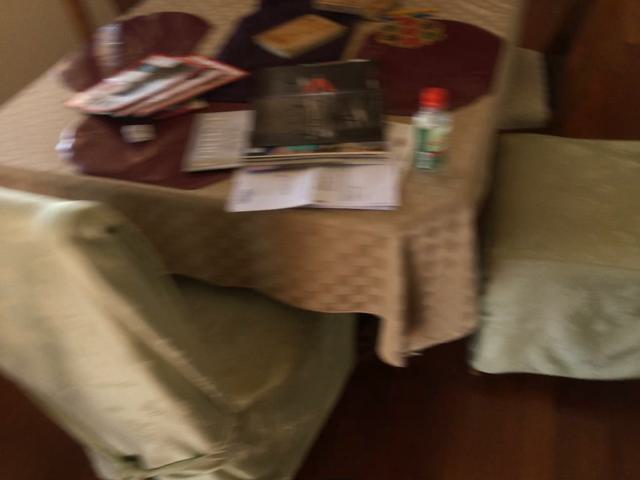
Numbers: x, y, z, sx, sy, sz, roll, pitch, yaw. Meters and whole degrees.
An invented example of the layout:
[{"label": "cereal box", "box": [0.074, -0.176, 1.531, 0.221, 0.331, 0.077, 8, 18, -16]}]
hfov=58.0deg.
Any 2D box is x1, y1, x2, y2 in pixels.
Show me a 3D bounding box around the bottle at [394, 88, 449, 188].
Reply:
[{"label": "bottle", "box": [0.170, -0.170, 0.970, 0.070, 0.130, 0.090, 10, 50, 17]}]
